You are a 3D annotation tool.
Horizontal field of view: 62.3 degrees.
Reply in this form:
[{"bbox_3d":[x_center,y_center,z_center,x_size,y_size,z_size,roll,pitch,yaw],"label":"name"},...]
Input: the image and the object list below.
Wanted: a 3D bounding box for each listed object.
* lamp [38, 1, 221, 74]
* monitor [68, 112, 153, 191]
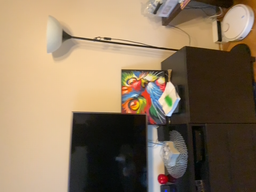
[{"bbox_3d":[0.070,-0.450,1.840,0.280,1.530,0.350,157,114,-70],"label":"lamp"},{"bbox_3d":[-0.120,0.690,1.630,0.050,0.660,1.120,157,112,-68],"label":"monitor"}]
